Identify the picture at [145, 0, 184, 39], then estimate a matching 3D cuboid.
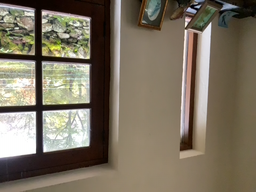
[{"bbox_3d":[0.250,-0.540,1.430,0.210,0.250,0.060,-24,-164,-24],"label":"picture"}]
